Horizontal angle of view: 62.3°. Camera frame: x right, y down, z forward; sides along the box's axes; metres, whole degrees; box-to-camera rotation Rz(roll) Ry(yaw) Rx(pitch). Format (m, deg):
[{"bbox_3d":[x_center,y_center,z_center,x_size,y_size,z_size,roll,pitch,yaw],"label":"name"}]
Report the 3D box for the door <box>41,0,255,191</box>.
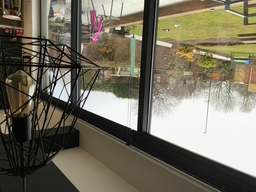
[{"bbox_3d":[-0.310,-0.810,2.760,0.060,2.300,5.160,-4,-169,-38],"label":"door"}]
